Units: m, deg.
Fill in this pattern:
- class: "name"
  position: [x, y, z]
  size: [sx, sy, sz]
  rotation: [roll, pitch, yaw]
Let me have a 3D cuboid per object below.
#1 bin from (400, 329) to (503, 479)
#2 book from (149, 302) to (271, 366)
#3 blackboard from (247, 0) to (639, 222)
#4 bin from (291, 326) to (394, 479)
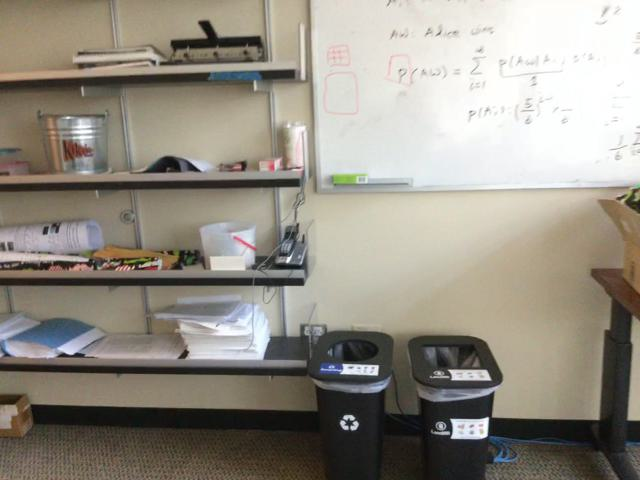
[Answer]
- class: "bin"
  position: [0.470, 0.650, 2.130]
  size: [0.320, 0.500, 0.520]
  rotation: [0, 9, 10]
- class: "book"
  position: [-0.430, 0.370, 2.320]
  size: [0.400, 0.170, 0.270]
  rotation: [0, 9, 10]
- class: "blackboard"
  position: [0.660, -0.740, 1.940]
  size: [1.790, 1.320, 0.270]
  rotation: [0, 9, 10]
- class: "bin"
  position: [0.110, 0.650, 2.200]
  size: [0.310, 0.500, 0.520]
  rotation: [0, 9, 10]
